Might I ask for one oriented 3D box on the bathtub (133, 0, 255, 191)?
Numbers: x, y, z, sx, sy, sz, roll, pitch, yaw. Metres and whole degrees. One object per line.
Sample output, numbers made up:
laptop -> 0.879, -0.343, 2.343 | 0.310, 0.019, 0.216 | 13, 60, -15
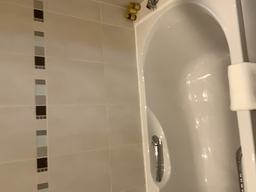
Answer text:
bathtub -> 0.530, 0.250, 1.200 | 0.720, 0.590, 1.780 | -14, 78, 56
